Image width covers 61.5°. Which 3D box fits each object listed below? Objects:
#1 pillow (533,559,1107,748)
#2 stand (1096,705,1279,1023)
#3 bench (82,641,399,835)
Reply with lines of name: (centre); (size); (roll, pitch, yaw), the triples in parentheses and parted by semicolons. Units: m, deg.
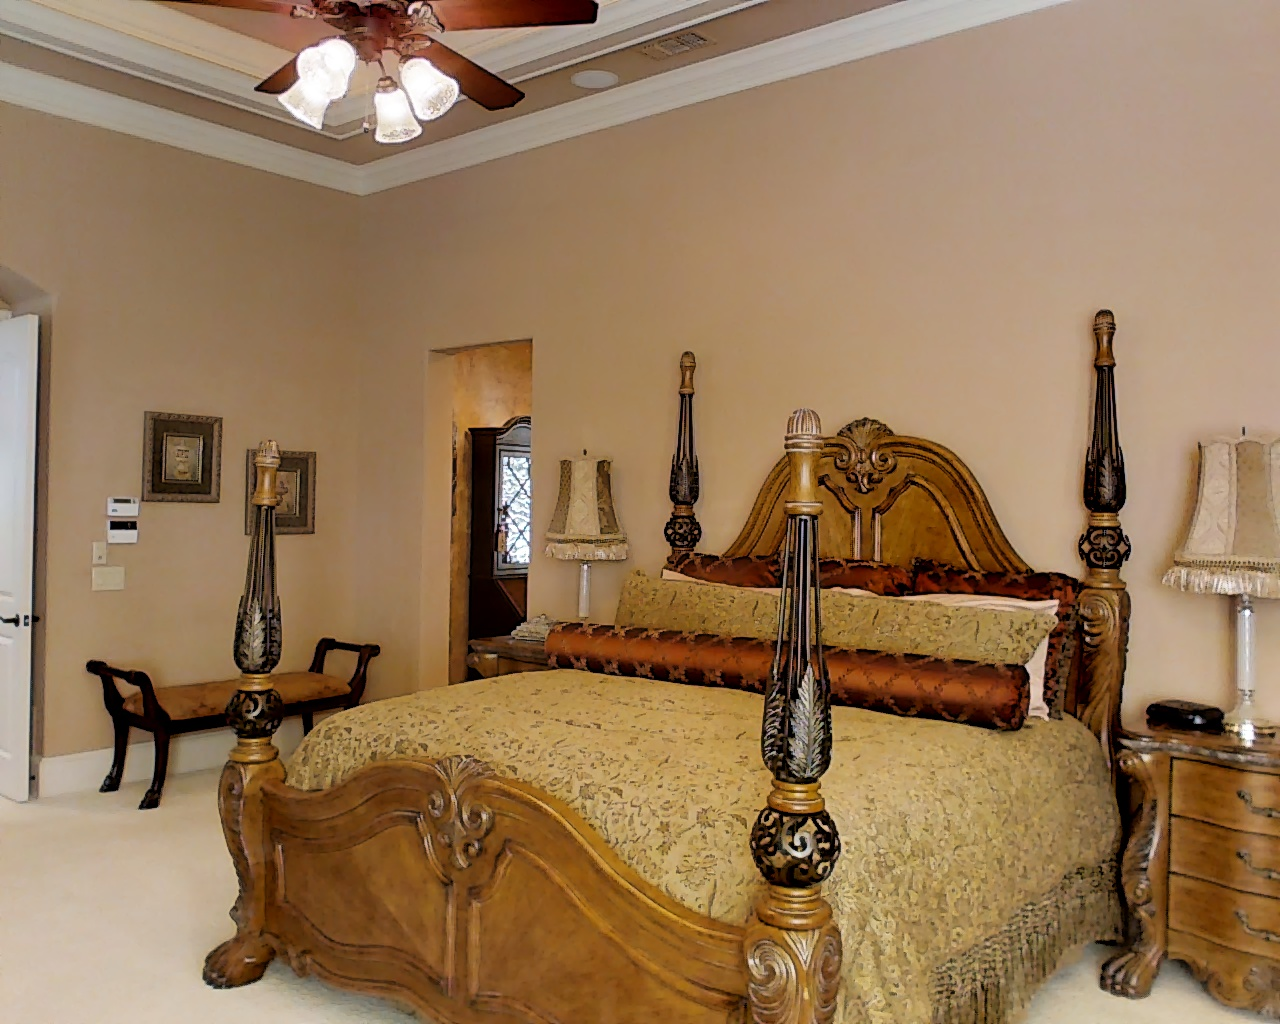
pillow: (0.650, 0.460, 4.160); (1.930, 0.450, 1.020); (1, 0, 37)
stand: (2.059, 1.150, 3.370); (1.010, 0.880, 0.610); (1, 0, 39)
bench: (-2.169, 1.190, 6.000); (0.600, 0.760, 1.550); (1, 0, 40)
